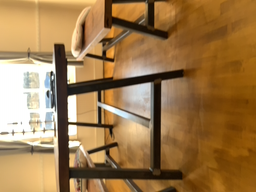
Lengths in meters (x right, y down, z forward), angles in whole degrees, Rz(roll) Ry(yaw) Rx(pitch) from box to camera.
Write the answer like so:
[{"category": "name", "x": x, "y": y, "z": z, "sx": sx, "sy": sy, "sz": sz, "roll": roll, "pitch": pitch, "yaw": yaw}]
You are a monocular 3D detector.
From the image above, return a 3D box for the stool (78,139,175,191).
[{"category": "stool", "x": -0.140, "y": 0.760, "z": 2.000, "sx": 1.460, "sy": 0.460, "sz": 0.300, "roll": -170, "pitch": 80, "yaw": -69}]

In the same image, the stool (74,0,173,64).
[{"category": "stool", "x": -0.190, "y": -0.560, "z": 2.050, "sx": 1.510, "sy": 0.480, "sz": 0.320, "roll": -175, "pitch": 85, "yaw": -69}]
